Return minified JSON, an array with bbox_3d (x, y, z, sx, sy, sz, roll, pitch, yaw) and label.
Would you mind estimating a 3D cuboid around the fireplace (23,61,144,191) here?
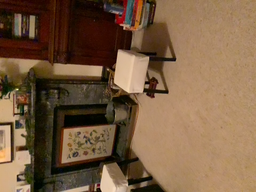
[{"bbox_3d":[-0.680,0.570,2.830,0.760,1.220,1.820,39,123,54],"label":"fireplace"}]
